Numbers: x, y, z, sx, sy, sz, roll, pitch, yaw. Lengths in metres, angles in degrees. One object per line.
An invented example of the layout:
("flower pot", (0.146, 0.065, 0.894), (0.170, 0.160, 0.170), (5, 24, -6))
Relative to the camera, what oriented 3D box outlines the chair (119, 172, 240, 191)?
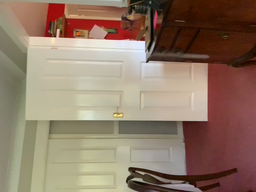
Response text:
("chair", (0.410, 0.950, 1.830), (0.440, 0.960, 0.500), (101, 169, -61))
